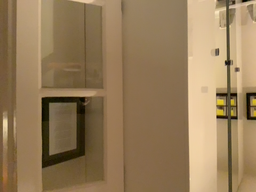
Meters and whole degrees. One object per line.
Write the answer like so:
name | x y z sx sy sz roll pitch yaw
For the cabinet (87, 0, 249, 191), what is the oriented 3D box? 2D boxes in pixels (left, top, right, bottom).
cabinet | 0.630 -0.290 1.930 0.570 2.380 2.190 -1 179 35
